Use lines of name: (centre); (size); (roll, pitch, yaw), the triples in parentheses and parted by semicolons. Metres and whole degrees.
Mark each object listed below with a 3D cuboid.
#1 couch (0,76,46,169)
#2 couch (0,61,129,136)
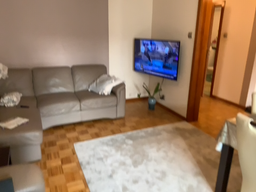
couch: (-1.550, 0.280, 2.580); (0.920, 0.830, 0.870); (-6, 19, -22)
couch: (-1.250, -0.050, 3.620); (2.340, 0.860, 0.910); (-6, 19, -23)
